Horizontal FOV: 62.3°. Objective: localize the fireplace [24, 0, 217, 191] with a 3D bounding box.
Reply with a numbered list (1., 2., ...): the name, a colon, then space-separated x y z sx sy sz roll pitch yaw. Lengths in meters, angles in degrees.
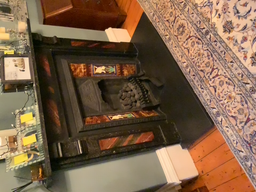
1. fireplace: -0.230 -0.100 1.950 0.780 1.200 1.430 -59 44 45
